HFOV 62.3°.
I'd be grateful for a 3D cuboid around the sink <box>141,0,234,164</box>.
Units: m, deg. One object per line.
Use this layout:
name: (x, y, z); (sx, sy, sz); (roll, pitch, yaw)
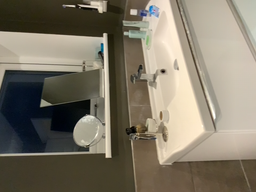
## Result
sink: (0.230, -0.200, 1.170); (0.470, 0.130, 1.010); (107, 162, -57)
